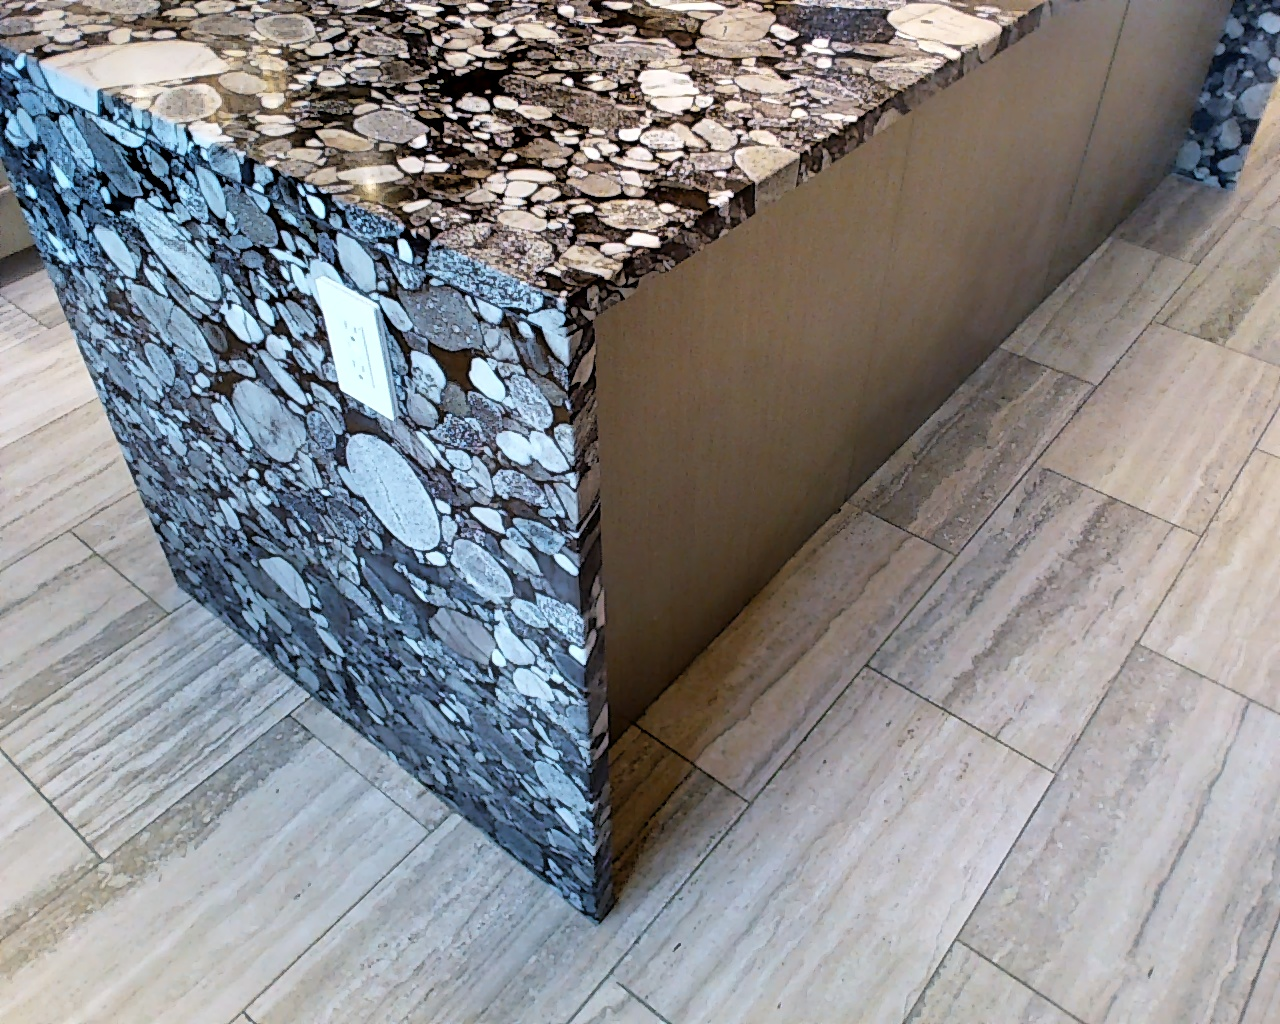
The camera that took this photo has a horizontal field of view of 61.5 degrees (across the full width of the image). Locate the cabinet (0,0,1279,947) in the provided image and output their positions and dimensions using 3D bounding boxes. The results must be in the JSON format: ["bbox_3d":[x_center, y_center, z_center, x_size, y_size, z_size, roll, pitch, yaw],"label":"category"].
[{"bbox_3d":[0.390,-0.710,2.010,1.020,0.950,2.620,29,50,28],"label":"cabinet"}]
